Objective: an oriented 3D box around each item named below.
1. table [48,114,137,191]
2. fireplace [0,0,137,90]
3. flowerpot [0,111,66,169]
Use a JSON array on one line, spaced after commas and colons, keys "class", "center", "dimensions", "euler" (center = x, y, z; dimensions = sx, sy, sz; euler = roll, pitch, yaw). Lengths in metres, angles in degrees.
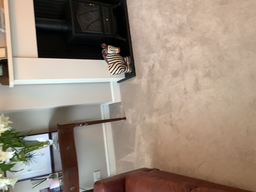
[{"class": "table", "center": [-0.400, 0.680, 2.310], "dimensions": [0.490, 0.730, 0.840], "euler": [-18, 80, 58]}, {"class": "fireplace", "center": [-0.580, -0.730, 2.040], "dimensions": [0.440, 1.100, 1.220], "euler": [-18, 80, 58]}, {"class": "flowerpot", "center": [-0.960, 0.390, 1.990], "dimensions": [0.520, 0.570, 0.390], "euler": [-17, 80, 58]}]
